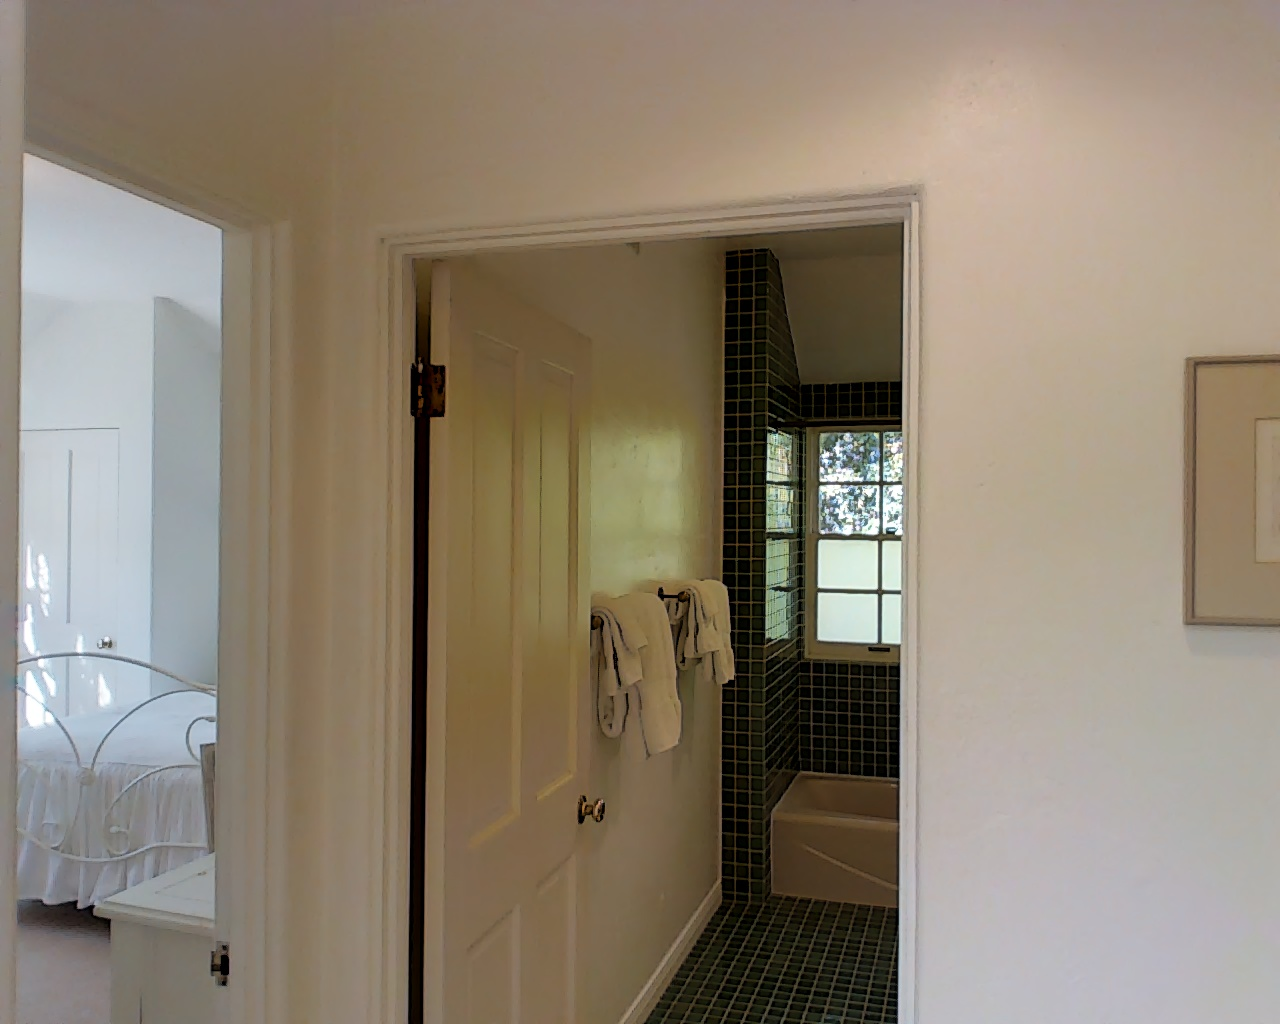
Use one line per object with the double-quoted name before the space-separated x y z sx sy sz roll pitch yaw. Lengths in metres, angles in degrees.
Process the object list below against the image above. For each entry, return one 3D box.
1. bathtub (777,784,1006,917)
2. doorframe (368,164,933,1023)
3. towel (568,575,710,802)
"bathtub" 1.050 1.410 4.510 0.920 0.410 0.180 0 0 17
"doorframe" 0.000 0.560 1.670 0.860 2.081 0.160 0 0 17
"towel" 0.010 0.460 2.970 0.250 0.540 0.500 0 0 17
